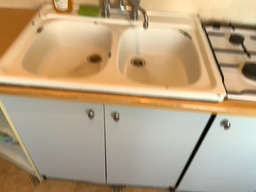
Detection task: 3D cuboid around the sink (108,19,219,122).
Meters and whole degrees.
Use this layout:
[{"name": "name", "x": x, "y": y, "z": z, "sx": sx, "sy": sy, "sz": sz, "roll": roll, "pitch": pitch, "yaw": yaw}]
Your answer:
[{"name": "sink", "x": 0.130, "y": -0.140, "z": 0.930, "sx": 0.370, "sy": 0.160, "sz": 0.470, "roll": 6, "pitch": 44, "yaw": 0}]

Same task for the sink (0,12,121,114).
[{"name": "sink", "x": -0.250, "y": -0.170, "z": 0.920, "sx": 0.390, "sy": 0.160, "sz": 0.470, "roll": 6, "pitch": 44, "yaw": 0}]
